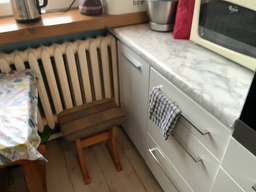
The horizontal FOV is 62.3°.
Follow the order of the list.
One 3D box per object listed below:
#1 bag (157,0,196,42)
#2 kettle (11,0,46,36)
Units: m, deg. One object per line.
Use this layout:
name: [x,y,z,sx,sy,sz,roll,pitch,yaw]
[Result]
bag: [0.250,-0.430,1.120,0.100,0.230,0.170,-15,38,-21]
kettle: [-0.560,-0.510,1.170,0.130,0.300,0.140,-13,37,-18]
